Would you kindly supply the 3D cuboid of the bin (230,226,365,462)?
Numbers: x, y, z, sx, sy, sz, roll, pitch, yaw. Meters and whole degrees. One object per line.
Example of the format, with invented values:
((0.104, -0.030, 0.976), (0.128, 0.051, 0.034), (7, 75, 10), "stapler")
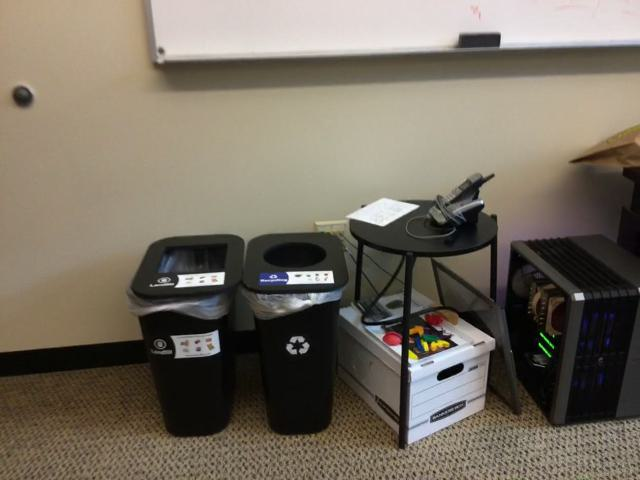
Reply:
((-0.070, 0.290, 1.770), (0.320, 0.550, 0.430), (-5, 16, -4), "bin")

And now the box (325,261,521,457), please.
((0.300, 0.350, 1.890), (0.490, 0.370, 0.550), (-5, 16, -4), "box")

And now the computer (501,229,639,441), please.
((0.850, 0.270, 1.840), (0.370, 0.480, 0.470), (-5, 16, -4), "computer")

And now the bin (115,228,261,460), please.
((-0.370, 0.290, 1.790), (0.320, 0.530, 0.460), (-5, 16, -4), "bin")
